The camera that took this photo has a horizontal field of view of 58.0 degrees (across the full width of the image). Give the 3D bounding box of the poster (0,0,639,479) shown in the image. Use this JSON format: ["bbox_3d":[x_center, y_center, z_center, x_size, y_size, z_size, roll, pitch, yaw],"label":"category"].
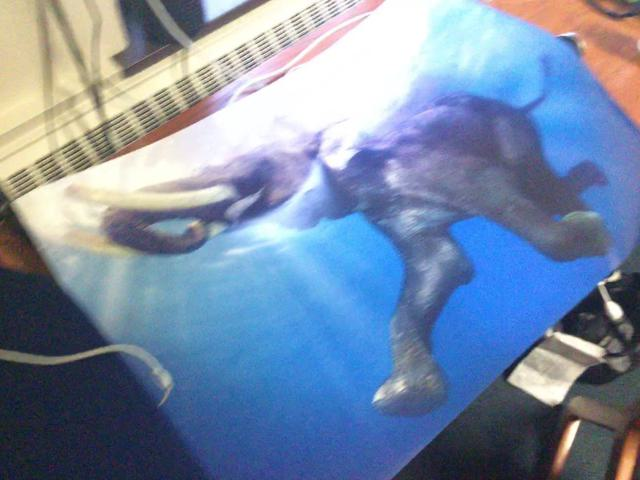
[{"bbox_3d":[0.080,-0.060,0.890,0.960,0.200,0.660,-39,64,-22],"label":"poster"}]
